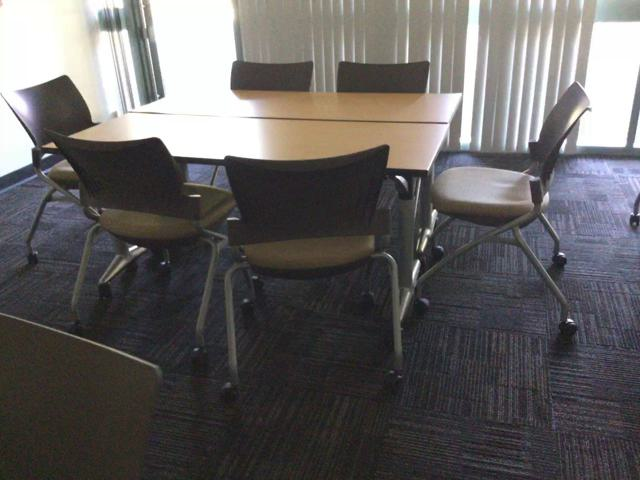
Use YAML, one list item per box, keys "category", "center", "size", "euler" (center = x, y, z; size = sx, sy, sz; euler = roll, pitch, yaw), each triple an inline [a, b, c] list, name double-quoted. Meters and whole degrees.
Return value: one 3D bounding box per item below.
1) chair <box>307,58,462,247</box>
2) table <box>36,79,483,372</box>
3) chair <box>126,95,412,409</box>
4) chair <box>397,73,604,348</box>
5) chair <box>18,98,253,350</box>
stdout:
- category: "chair"
  center: [0.340, -0.480, 2.970]
  size: [0.600, 0.790, 0.560]
  euler: [9, 27, 23]
- category: "table"
  center: [-0.170, -0.240, 2.730]
  size: [1.540, 0.750, 1.300]
  euler: [9, 27, 23]
- category: "chair"
  center: [-0.130, -0.010, 2.130]
  size: [0.780, 0.860, 0.830]
  euler: [-2, 25, 0]
- category: "chair"
  center: [0.720, -0.170, 2.320]
  size: [0.620, 0.850, 0.670]
  euler: [9, 27, 23]
- category: "chair"
  center: [-0.680, -0.100, 2.300]
  size: [0.560, 0.790, 0.540]
  euler: [9, 27, 23]
